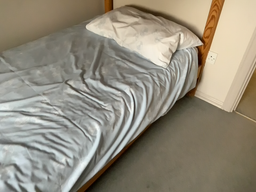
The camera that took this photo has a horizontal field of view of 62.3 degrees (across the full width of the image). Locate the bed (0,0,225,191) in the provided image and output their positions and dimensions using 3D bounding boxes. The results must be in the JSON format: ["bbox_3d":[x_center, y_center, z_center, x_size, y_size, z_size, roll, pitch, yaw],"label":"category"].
[{"bbox_3d":[-0.480,-0.300,0.860,1.030,1.540,2.030,30,48,27],"label":"bed"}]
